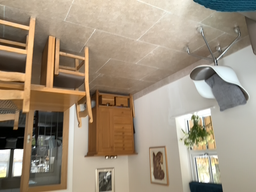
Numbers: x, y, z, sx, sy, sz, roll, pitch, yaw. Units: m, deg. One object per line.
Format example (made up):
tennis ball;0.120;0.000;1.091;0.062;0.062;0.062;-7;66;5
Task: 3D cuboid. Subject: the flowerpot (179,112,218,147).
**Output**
flowerpot;1.130;0.560;3.460;0.330;0.510;0.440;6;163;-28

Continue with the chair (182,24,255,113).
chair;1.090;-0.310;2.630;0.600;0.910;0.600;-2;165;-1

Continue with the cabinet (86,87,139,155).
cabinet;-0.370;0.590;4.770;1.000;1.380;0.550;6;162;-30

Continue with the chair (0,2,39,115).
chair;-1.190;-0.330;2.060;0.450;0.930;0.520;7;162;-32
